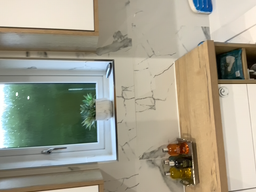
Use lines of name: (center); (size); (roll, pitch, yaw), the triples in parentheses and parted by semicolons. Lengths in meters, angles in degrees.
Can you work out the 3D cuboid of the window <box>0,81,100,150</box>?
window: (-0.570, 0.120, 1.430); (0.050, 0.740, 0.440); (148, 120, -75)
